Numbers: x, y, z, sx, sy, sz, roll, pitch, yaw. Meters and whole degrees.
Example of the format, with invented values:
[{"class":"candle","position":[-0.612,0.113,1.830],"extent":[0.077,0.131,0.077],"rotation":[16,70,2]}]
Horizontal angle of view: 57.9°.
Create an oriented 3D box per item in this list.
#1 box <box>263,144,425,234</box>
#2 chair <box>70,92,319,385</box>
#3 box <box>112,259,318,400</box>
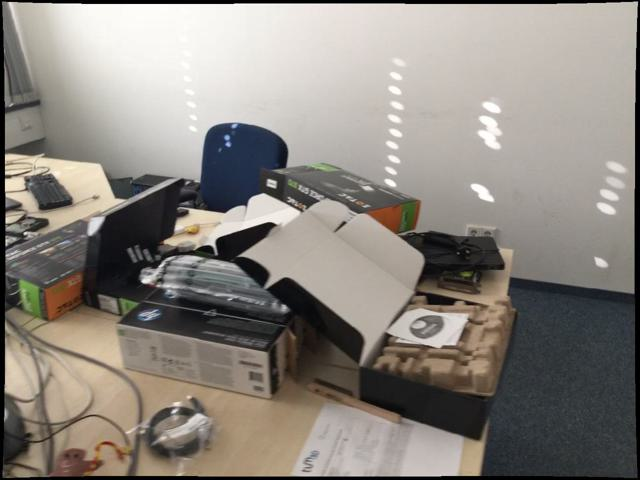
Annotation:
[{"class":"box","position":[0.070,-0.180,1.870],"extent":[0.270,0.110,0.460],"rotation":[-26,35,-37]},{"class":"chair","position":[-0.509,-0.060,2.590],"extent":[0.660,0.981,0.710],"rotation":[20,35,38]},{"class":"box","position":[-0.240,0.200,1.410],"extent":[0.390,0.140,0.290],"rotation":[7,29,19]}]
